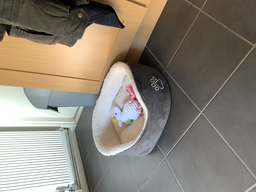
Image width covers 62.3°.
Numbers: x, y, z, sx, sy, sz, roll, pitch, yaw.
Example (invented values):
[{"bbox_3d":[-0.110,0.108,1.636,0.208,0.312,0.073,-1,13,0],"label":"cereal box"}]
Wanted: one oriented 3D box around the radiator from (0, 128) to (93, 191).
[{"bbox_3d":[-0.850,0.590,1.900,0.200,0.900,0.640,-64,38,30],"label":"radiator"}]
